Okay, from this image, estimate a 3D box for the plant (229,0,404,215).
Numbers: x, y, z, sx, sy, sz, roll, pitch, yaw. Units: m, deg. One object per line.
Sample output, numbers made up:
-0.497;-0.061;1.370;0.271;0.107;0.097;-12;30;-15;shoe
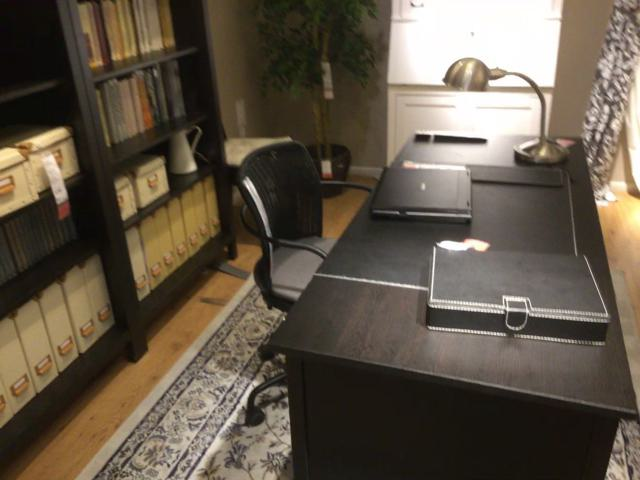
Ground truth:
0.030;-1.060;3.330;0.740;1.620;0.730;6;28;20;plant
